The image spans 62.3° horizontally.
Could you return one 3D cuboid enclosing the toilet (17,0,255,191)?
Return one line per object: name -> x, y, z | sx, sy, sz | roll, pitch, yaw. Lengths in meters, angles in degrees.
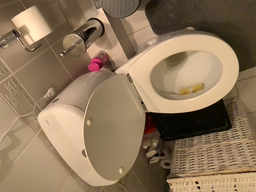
toilet -> 0.100, -0.040, 0.970 | 0.650, 0.800, 0.420 | -17, 117, 23
